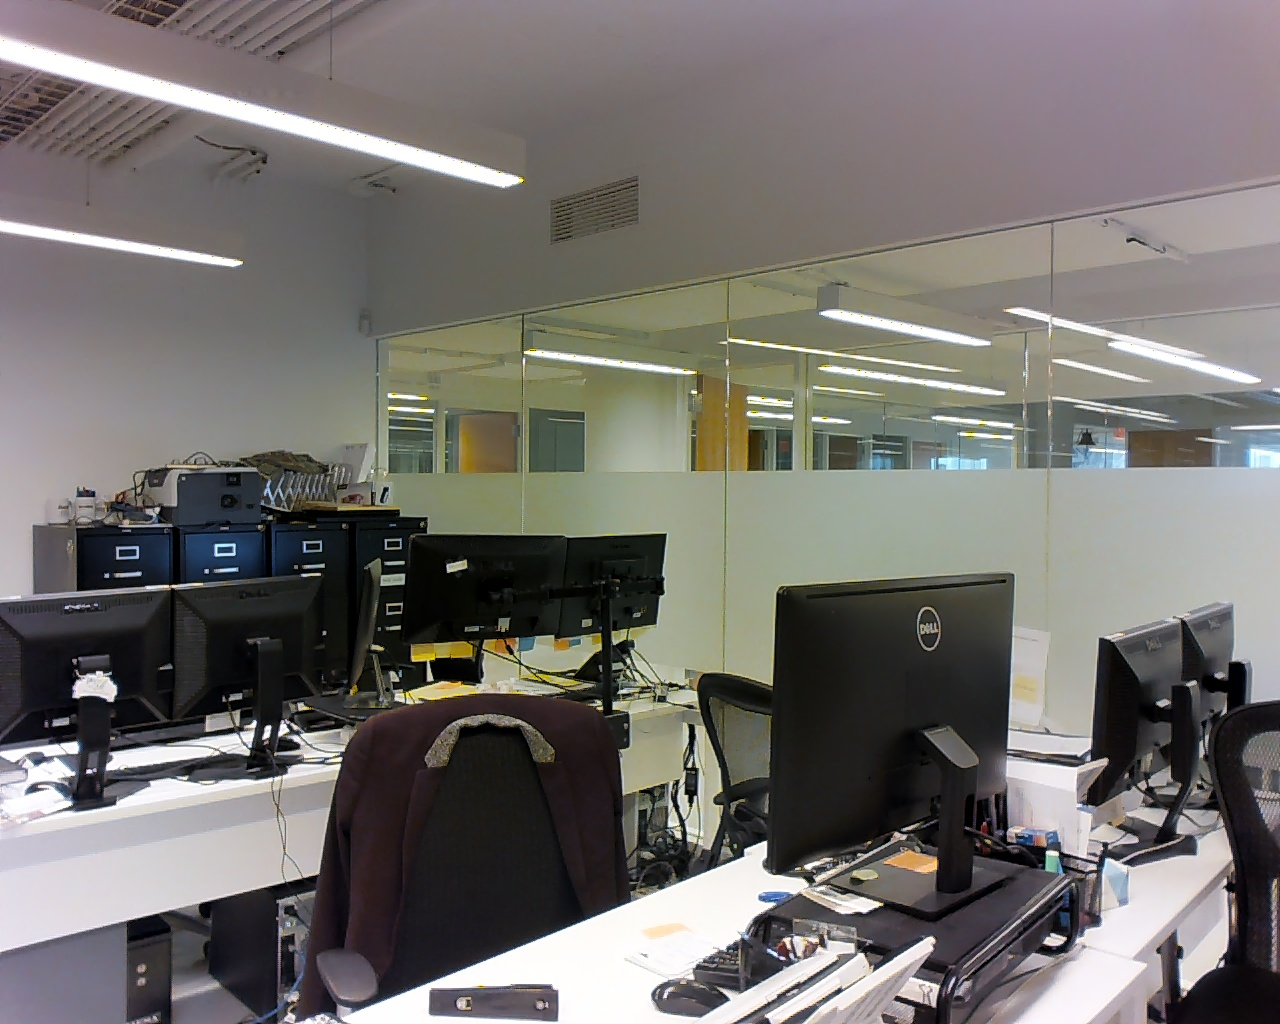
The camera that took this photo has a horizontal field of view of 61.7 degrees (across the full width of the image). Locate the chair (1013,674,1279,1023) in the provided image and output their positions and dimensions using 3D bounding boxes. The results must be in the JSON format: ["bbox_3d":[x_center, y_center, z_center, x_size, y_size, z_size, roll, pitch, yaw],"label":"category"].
[{"bbox_3d":[1.250,0.920,1.970,0.840,1.070,0.730,1,1,43],"label":"chair"}]

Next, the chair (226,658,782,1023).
[{"bbox_3d":[-0.240,0.880,1.910,0.730,1.100,0.660,0,1,-44],"label":"chair"}]
